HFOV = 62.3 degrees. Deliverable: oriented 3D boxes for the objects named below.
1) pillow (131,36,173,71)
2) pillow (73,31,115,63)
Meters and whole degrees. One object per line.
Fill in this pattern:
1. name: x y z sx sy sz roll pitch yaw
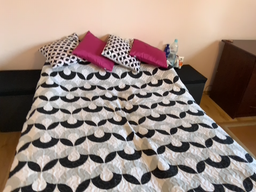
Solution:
1. pillow: 0.220 -0.430 2.090 0.350 0.200 0.380 3 31 -3
2. pillow: -0.310 -0.460 1.950 0.340 0.170 0.390 -1 31 -10
